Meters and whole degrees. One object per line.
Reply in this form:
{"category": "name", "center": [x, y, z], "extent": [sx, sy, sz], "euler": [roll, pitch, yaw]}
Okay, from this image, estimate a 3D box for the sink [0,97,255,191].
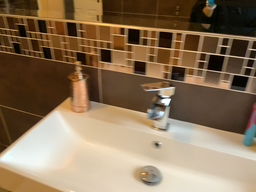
{"category": "sink", "center": [0.060, 0.220, 0.630], "extent": [0.800, 0.120, 0.380], "euler": [11, 31, 17]}
